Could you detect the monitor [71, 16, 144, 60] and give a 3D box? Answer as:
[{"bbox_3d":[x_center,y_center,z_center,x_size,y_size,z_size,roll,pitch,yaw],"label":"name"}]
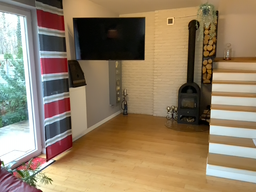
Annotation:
[{"bbox_3d":[-0.340,-1.010,3.740,1.240,0.700,0.110,-1,15,5],"label":"monitor"}]
